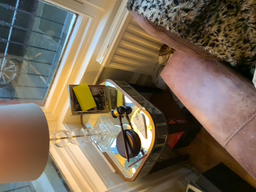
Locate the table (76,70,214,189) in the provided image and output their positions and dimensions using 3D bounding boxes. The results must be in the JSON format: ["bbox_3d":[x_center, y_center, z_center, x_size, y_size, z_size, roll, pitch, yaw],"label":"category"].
[{"bbox_3d":[0.110,0.160,1.290,0.490,0.590,0.360,43,114,34],"label":"table"}]
